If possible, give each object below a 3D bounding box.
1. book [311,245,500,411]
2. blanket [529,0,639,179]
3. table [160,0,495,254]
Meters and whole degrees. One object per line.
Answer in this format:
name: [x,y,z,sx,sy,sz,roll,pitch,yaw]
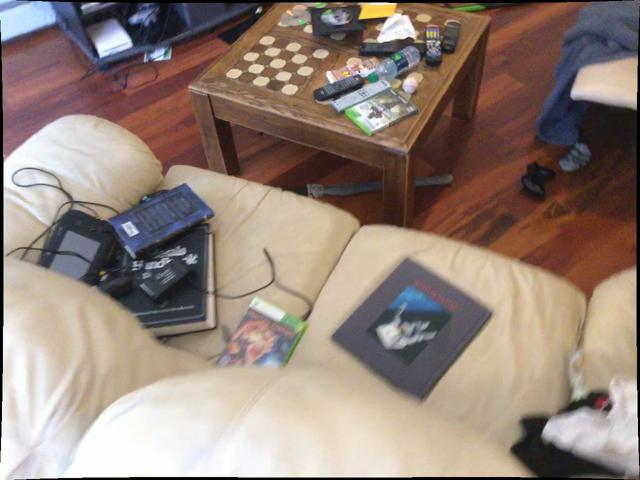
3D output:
book: [0.190,0.180,1.290,0.320,0.030,0.270,-33,56,-22]
blanket: [1.239,-0.701,2.220,0.689,0.530,0.780,8,51,9]
table: [0.090,-0.580,2.220,0.889,0.480,0.990,16,53,16]
